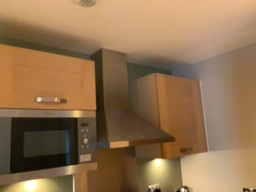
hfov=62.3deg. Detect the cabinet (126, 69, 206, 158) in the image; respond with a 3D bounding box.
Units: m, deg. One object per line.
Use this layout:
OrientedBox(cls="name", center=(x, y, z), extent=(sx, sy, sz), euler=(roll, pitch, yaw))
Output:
OrientedBox(cls="cabinet", center=(0.380, 0.190, 2.120), extent=(0.650, 0.740, 0.400), euler=(5, -13, -40))
